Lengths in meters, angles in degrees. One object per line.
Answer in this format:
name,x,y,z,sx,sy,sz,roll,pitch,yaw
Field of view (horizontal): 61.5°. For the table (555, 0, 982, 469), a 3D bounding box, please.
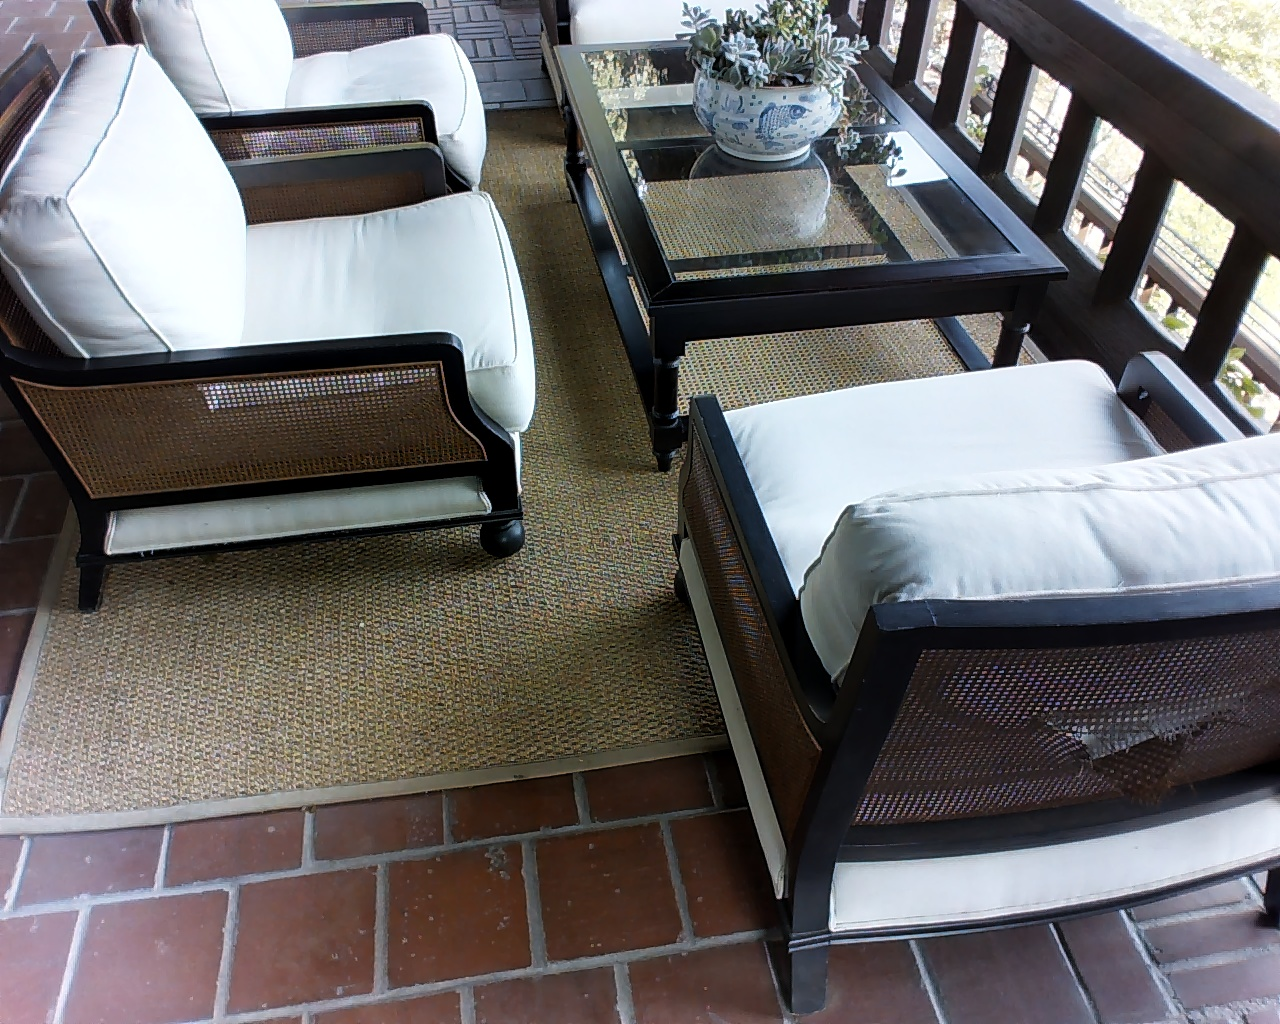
table,0.190,-0.950,2.820,0.630,0.780,1.590,-6,43,-8
